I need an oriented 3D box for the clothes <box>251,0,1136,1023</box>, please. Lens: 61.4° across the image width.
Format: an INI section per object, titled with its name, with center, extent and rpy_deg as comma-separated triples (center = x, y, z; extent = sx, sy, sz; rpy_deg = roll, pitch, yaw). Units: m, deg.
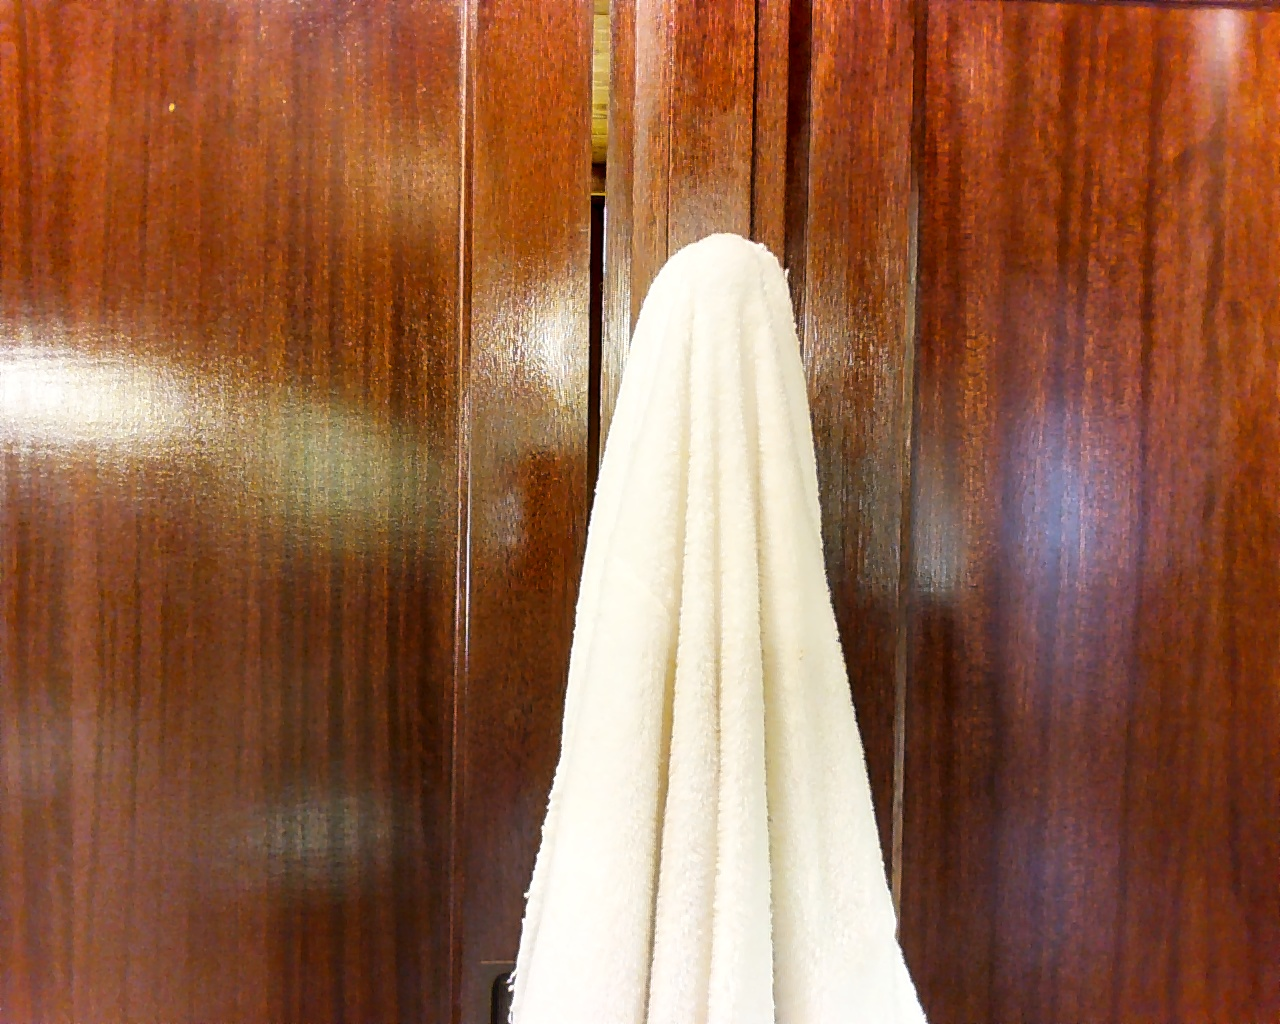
[clothes]
center = 0.010, 0.570, 0.660
extent = 0.390, 1.650, 0.340
rpy_deg = 1, 1, -2
